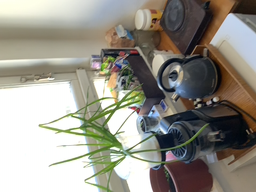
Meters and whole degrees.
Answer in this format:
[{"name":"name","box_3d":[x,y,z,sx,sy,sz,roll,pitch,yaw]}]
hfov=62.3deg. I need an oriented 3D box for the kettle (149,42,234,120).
[{"name":"kettle","box_3d":[0.270,-0.070,0.980,0.270,0.200,0.220,114,142,-48]}]
